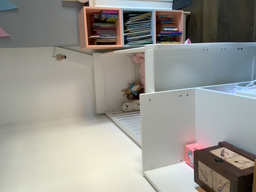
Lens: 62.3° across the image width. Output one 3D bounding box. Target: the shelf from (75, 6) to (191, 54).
[{"bbox_3d":[0.070,-0.680,2.270,0.380,1.160,0.410,-155,61,-66],"label":"shelf"}]
